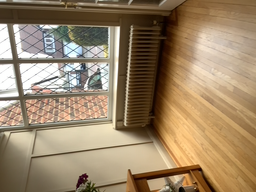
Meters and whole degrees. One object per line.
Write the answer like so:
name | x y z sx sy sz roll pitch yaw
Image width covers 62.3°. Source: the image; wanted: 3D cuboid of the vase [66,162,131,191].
vase | -0.280 0.920 1.930 0.470 0.530 0.310 -124 34 -61

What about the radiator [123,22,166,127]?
radiator | 0.200 -0.250 2.910 0.140 0.420 1.430 -124 35 -61

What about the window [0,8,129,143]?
window | -0.940 -0.220 2.840 0.230 1.800 1.690 -124 34 -61
